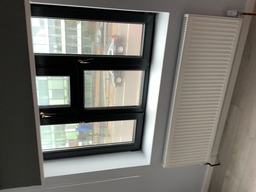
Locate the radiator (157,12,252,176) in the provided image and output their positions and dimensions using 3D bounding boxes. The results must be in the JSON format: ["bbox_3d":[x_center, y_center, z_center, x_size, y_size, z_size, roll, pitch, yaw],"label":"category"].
[{"bbox_3d":[0.630,0.070,1.880,0.070,0.570,1.470,-126,37,-63],"label":"radiator"}]
